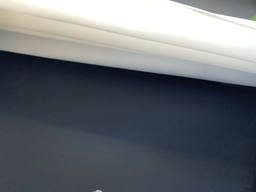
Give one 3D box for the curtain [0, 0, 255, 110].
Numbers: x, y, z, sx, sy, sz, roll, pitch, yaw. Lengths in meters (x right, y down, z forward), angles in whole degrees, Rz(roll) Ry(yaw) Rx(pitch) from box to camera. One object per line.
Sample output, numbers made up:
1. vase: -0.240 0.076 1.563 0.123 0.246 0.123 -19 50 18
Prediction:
1. curtain: 0.320 -0.140 0.810 0.510 2.280 0.250 112 167 -83
